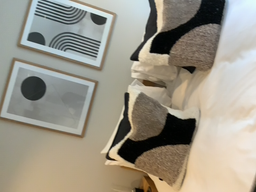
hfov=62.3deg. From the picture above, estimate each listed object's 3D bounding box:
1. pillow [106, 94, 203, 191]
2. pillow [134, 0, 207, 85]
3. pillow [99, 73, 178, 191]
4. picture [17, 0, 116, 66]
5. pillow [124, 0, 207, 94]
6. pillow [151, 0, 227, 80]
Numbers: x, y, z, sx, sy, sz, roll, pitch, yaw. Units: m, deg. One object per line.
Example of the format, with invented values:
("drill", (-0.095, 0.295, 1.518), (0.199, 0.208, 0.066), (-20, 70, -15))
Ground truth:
("pillow", (0.130, 0.260, 1.210), (0.240, 0.390, 0.440), (-153, 79, -80))
("pillow", (0.270, -0.380, 1.380), (0.120, 0.300, 0.550), (-157, 82, -80))
("pillow", (0.060, 0.270, 1.740), (0.410, 0.370, 0.800), (174, 112, -79))
("picture", (-0.520, -0.610, 1.860), (0.060, 0.720, 0.490), (176, 109, -80))
("pillow", (0.270, -0.440, 1.660), (0.360, 0.360, 0.750), (-138, 64, -79))
("pillow", (0.360, -0.360, 1.220), (0.130, 0.370, 0.460), (15, 93, 54))
